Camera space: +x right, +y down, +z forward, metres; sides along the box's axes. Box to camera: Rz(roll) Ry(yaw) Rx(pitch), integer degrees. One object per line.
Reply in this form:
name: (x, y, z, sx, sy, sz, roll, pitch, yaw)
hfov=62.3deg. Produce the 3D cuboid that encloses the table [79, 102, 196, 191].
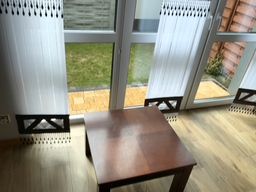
table: (0.000, 0.440, 1.670, 0.680, 0.410, 0.690, -4, 35, -18)
